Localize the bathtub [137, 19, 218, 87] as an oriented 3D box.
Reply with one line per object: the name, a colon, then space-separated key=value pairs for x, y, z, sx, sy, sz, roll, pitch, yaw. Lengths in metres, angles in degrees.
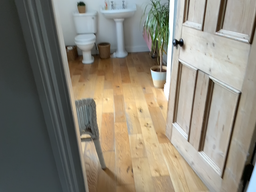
bathtub: x=0.630 y=-0.780 z=3.370 sx=0.770 sy=0.600 sz=1.670 roll=-3 pitch=27 yaw=-3
